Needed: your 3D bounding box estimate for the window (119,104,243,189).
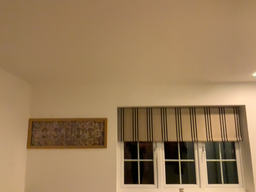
[{"bbox_3d":[0.700,0.690,2.970,1.650,1.120,0.060,-1,-11,0],"label":"window"}]
